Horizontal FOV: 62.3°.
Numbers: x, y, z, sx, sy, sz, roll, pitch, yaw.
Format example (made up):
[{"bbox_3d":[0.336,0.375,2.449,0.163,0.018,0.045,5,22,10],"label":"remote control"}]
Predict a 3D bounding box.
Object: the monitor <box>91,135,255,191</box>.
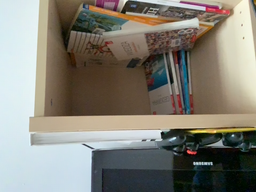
[{"bbox_3d":[0.270,0.410,0.710,0.810,0.550,0.060,-2,171,11],"label":"monitor"}]
